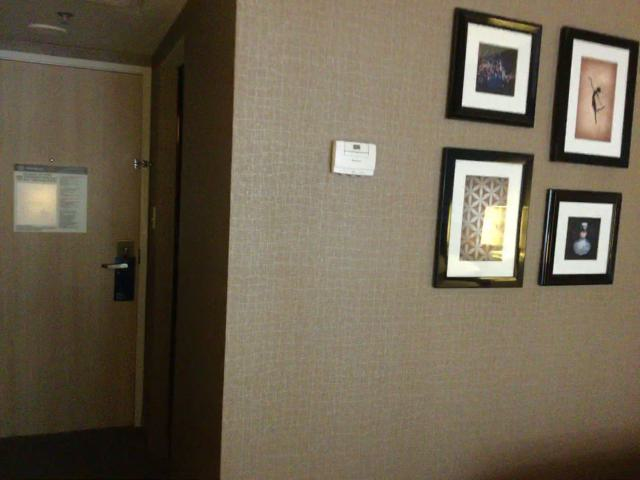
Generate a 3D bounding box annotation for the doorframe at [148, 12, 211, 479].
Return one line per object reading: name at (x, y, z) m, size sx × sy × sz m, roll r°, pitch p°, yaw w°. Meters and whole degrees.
doorframe at (-0.650, 0.160, 2.560) m, size 0.130 × 1.970 × 0.990 m, roll 1°, pitch 2°, yaw -19°

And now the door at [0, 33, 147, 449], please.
door at (-1.460, 0.020, 2.990) m, size 1.030 × 2.070 × 0.150 m, roll 1°, pitch 2°, yaw -19°

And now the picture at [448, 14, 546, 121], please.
picture at (0.510, -0.490, 1.660) m, size 0.290 × 0.260 × 0.040 m, roll 1°, pitch 2°, yaw -19°

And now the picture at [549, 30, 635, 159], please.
picture at (0.840, -0.440, 1.780) m, size 0.270 × 0.360 × 0.040 m, roll 1°, pitch 2°, yaw -19°

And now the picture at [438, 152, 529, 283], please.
picture at (0.480, -0.060, 1.690) m, size 0.270 × 0.370 × 0.030 m, roll 1°, pitch 2°, yaw -19°

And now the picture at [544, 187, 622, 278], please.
picture at (0.830, -0.020, 1.820) m, size 0.260 × 0.280 × 0.030 m, roll 1°, pitch 2°, yaw -19°
